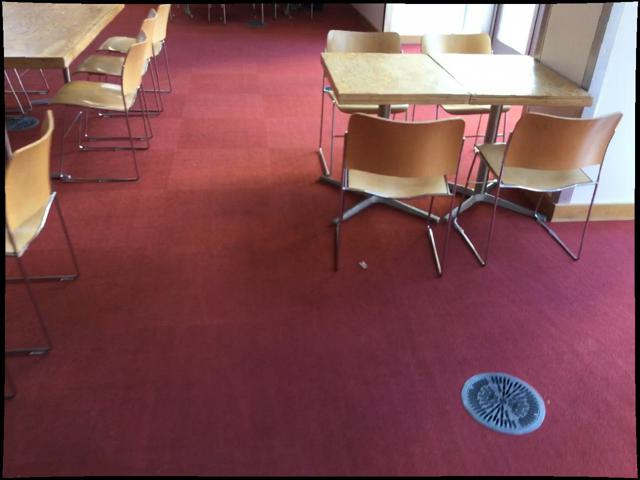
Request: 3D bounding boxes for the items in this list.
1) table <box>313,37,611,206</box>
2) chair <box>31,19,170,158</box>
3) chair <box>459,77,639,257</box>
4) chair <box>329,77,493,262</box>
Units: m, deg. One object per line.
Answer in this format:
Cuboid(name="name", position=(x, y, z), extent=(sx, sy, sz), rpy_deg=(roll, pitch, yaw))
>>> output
Cuboid(name="table", position=(0.639, -0.661, 3.060), extent=(1.269, 0.620, 0.810), rpy_deg=(-2, 32, -6))
Cuboid(name="chair", position=(-1.199, -0.861, 3.280), extent=(0.529, 0.640, 0.490), rpy_deg=(0, 32, -2))
Cuboid(name="chair", position=(1.019, -0.350, 2.690), extent=(0.509, 0.680, 0.490), rpy_deg=(-2, 32, -6))
Cuboid(name="chair", position=(0.350, -0.320, 2.540), extent=(0.549, 0.660, 0.470), rpy_deg=(-2, 32, -6))
